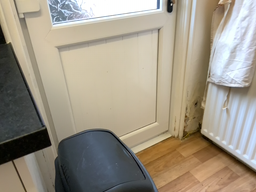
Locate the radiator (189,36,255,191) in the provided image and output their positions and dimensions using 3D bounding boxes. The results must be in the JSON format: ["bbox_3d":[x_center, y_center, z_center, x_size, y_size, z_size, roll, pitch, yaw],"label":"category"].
[{"bbox_3d":[0.660,0.100,1.220,0.170,0.760,0.590,-19,31,-26],"label":"radiator"}]
